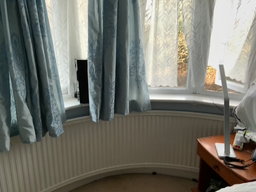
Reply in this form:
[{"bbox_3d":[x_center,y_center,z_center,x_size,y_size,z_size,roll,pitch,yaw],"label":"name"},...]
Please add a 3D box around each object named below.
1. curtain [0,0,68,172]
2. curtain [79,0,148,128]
[{"bbox_3d":[-0.750,-0.380,1.140,0.690,1.650,0.180,-16,24,-42],"label":"curtain"},{"bbox_3d":[-0.100,-0.580,1.620,0.480,1.620,0.180,-11,20,-30],"label":"curtain"}]
